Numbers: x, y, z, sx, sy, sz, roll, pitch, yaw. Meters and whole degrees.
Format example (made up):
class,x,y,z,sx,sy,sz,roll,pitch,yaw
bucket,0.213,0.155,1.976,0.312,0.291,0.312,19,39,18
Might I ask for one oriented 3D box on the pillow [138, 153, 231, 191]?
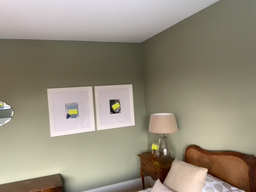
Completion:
class,x,y,z,sx,sy,sz,roll,pitch,yaw
pillow,0.500,0.840,2.000,0.620,0.350,0.570,-4,2,-19
